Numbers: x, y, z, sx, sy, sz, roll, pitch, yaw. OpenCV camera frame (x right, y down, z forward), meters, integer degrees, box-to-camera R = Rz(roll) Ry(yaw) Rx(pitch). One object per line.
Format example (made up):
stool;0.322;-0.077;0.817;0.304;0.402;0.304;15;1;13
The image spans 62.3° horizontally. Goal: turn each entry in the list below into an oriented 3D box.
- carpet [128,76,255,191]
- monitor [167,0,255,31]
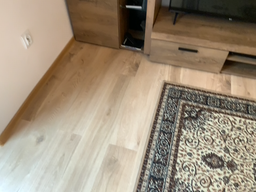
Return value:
carpet;0.920;0.480;1.270;1.720;0.020;1.230;13;52;10
monitor;0.810;-0.750;1.490;0.980;0.580;0.060;12;54;10
